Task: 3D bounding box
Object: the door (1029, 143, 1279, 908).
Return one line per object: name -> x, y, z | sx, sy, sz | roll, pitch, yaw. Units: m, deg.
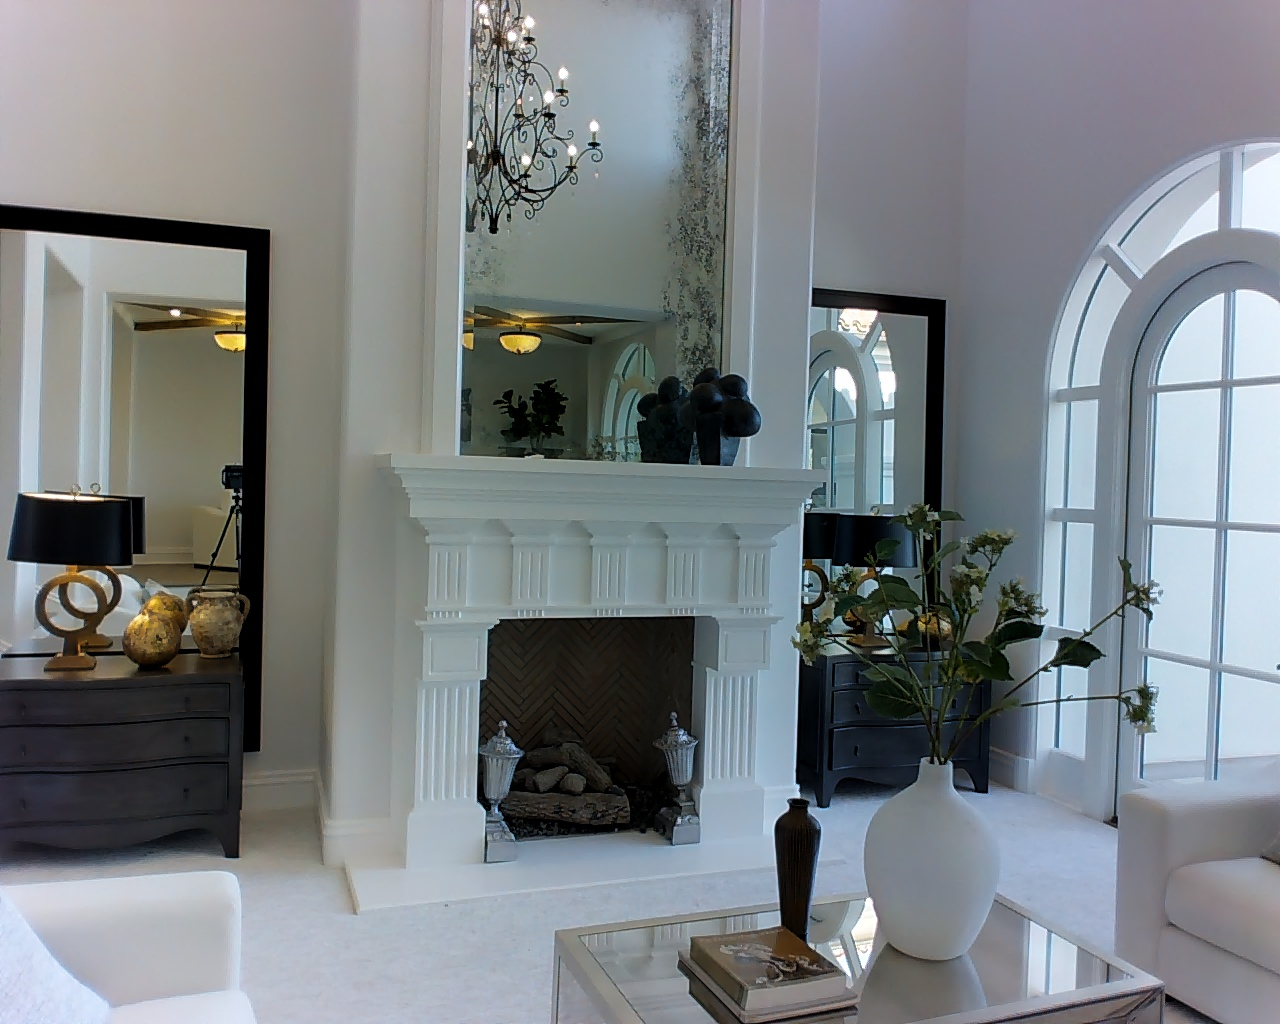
door -> 2.609, 0.030, 4.820 | 0.220, 3.151, 2.050 | 1, 1, -21
